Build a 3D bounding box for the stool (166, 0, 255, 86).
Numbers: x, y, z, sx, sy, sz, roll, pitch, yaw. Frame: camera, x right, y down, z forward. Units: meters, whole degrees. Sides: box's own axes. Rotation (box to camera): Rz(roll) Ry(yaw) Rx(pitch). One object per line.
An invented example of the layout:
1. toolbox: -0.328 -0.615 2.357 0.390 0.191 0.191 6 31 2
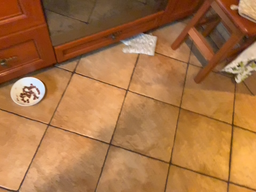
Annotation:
1. stool: 0.470 -0.330 1.110 0.270 0.440 0.320 -25 74 -20
